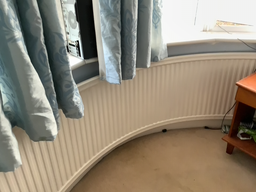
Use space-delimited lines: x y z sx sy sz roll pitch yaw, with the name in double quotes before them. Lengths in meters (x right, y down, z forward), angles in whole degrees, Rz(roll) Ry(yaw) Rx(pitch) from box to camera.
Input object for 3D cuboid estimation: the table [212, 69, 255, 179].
"table" 0.990 0.210 1.470 0.410 0.600 0.520 -20 36 -31
